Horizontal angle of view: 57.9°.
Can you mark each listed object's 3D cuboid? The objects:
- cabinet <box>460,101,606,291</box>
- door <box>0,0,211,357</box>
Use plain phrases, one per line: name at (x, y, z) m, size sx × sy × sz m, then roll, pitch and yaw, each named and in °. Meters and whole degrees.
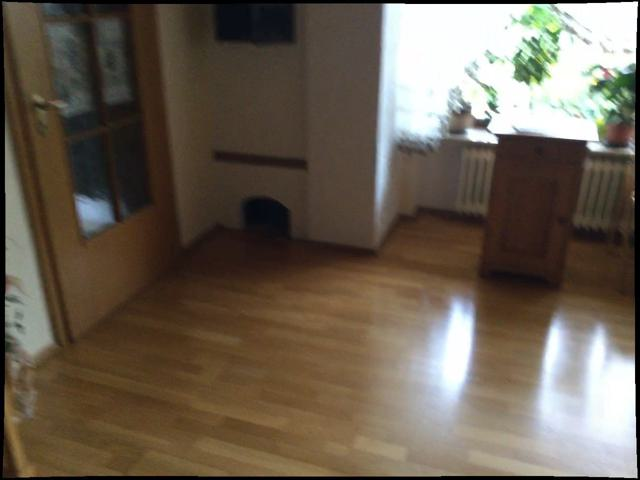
cabinet at (1.089, -0.250, 3.020) m, size 0.560 × 0.811 × 0.490 m, roll 8°, pitch 27°, yaw 19°
door at (-0.919, -0.621, 2.480) m, size 0.170 × 1.912 × 1.130 m, roll 8°, pitch 27°, yaw 19°
